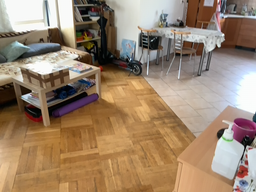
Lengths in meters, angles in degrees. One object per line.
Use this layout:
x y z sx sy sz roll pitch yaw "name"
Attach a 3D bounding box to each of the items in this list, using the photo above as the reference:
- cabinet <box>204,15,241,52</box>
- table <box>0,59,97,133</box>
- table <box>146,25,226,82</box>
2.610 -1.780 5.960 0.440 0.870 0.740 -2 27 -10 "cabinet"
-0.970 -0.070 2.660 0.710 0.450 0.910 21 32 32 "table"
1.080 -0.870 4.090 1.200 0.740 0.710 22 33 33 "table"
